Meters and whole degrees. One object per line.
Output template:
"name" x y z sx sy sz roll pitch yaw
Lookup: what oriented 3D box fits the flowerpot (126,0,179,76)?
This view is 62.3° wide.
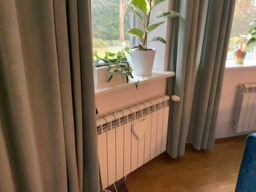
"flowerpot" 0.190 -0.660 1.720 0.360 0.910 0.210 19 26 40
